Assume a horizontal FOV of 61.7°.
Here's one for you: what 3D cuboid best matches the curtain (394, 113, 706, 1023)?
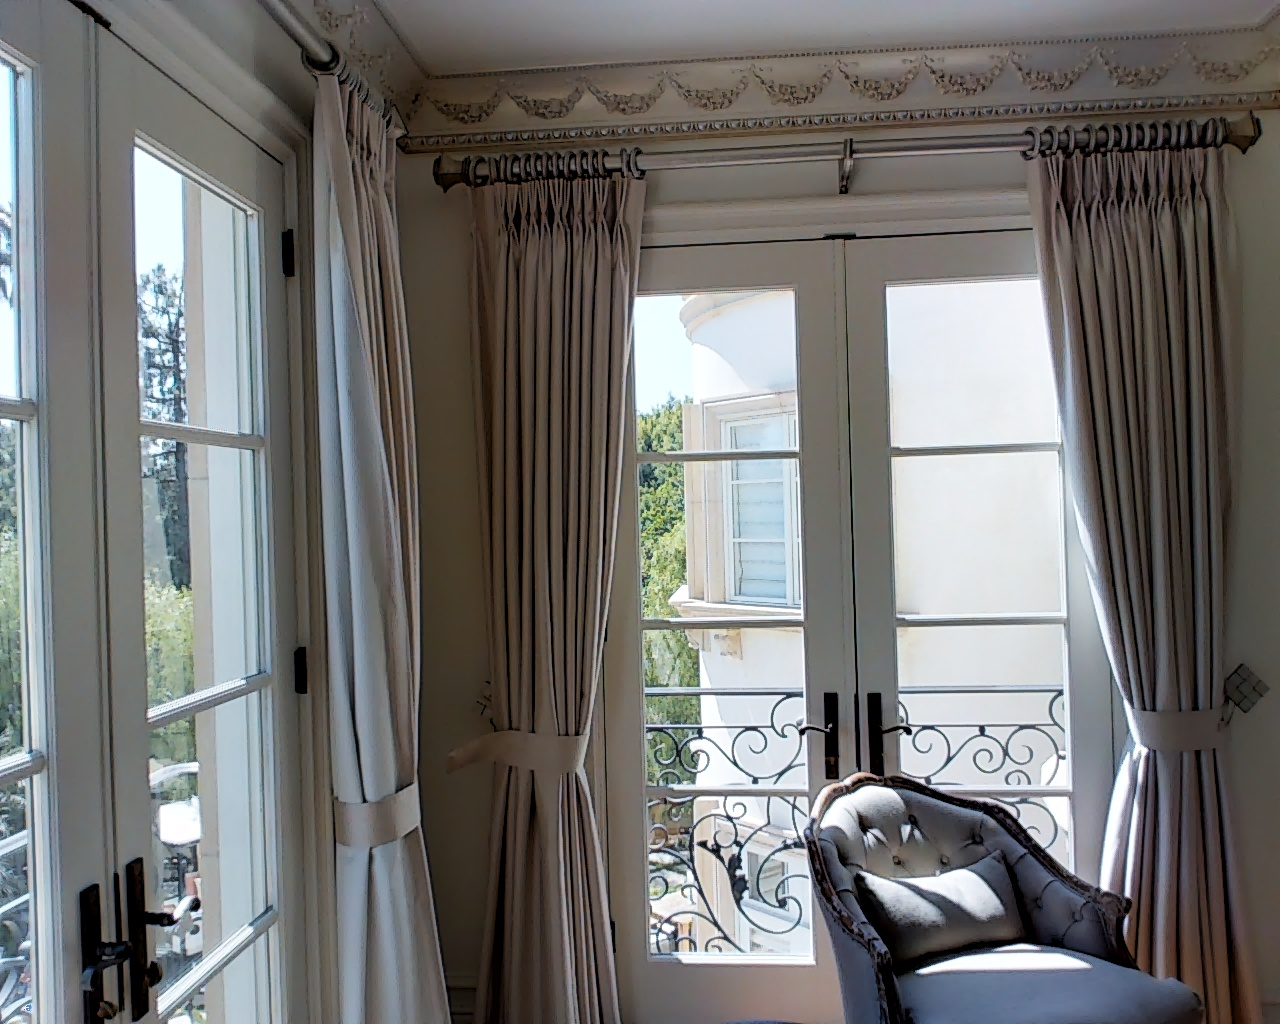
[{"bbox_3d":[-0.250,0.420,3.220,0.820,3.091,0.280,-2,0,5],"label":"curtain"}]
